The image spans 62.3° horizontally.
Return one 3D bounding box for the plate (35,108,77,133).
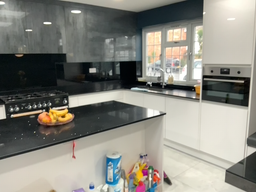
[{"bbox_3d":[-0.660,0.210,1.930,0.280,0.120,0.270,-9,13,-38],"label":"plate"}]
